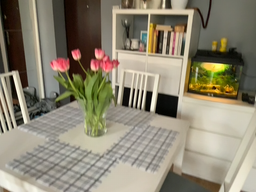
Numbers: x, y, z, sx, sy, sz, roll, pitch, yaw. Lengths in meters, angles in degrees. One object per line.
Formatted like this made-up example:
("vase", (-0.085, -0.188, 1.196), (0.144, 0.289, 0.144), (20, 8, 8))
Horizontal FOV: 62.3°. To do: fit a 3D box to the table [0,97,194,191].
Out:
("table", (-0.190, 0.560, 1.310), (0.900, 0.740, 0.910), (11, 20, 26))
